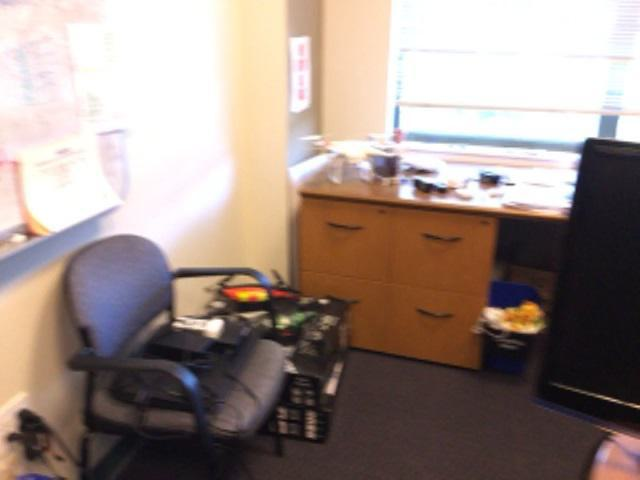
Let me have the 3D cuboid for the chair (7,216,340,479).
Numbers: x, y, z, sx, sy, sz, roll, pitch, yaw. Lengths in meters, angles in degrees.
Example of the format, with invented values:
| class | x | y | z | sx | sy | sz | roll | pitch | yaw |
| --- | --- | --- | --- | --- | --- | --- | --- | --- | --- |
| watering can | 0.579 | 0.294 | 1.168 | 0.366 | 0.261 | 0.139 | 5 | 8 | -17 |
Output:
| class | x | y | z | sx | sy | sz | roll | pitch | yaw |
| --- | --- | --- | --- | --- | --- | --- | --- | --- | --- |
| chair | -0.330 | 0.380 | 1.600 | 0.640 | 0.720 | 0.580 | 6 | 18 | 13 |

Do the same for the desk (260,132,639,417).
| class | x | y | z | sx | sy | sz | roll | pitch | yaw |
| --- | --- | --- | --- | --- | --- | --- | --- | --- | --- |
| desk | 0.910 | 0.080 | 2.430 | 2.160 | 0.860 | 0.820 | 5 | 18 | 13 |

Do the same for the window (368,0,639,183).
| class | x | y | z | sx | sy | sz | roll | pitch | yaw |
| --- | --- | --- | --- | --- | --- | --- | --- | --- | --- |
| window | 1.160 | -0.980 | 2.480 | 1.790 | 1.370 | 0.440 | 5 | 18 | 13 |
